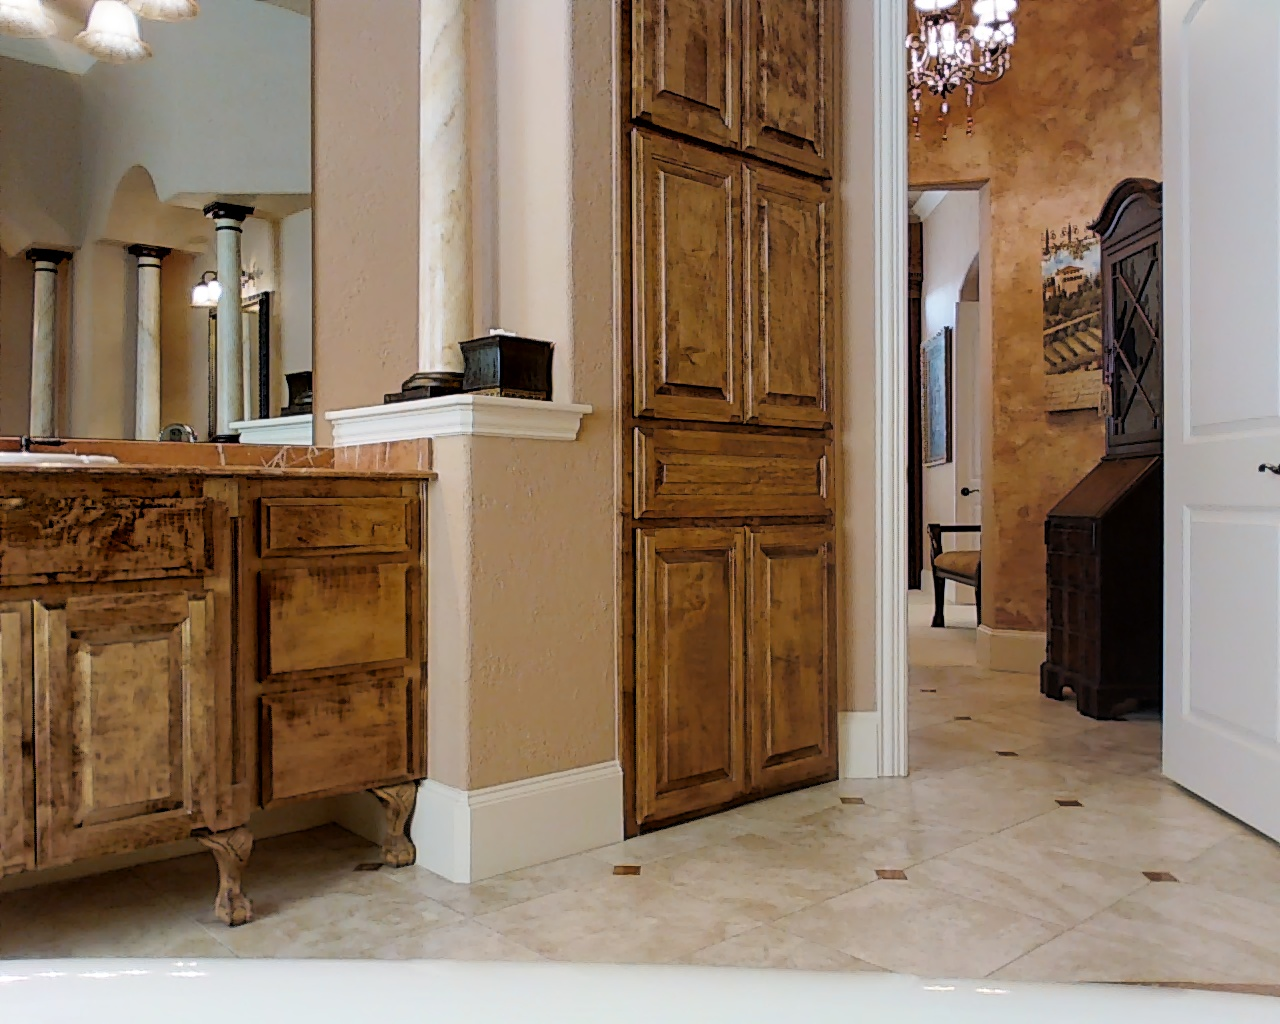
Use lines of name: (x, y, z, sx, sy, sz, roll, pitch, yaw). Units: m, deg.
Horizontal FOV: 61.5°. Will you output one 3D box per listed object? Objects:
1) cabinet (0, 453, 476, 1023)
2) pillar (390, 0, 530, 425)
cabinet: (-1.220, 0.400, 2.060, 1.750, 1.000, 0.570, -1, 1, -41)
pillar: (-0.460, -0.890, 2.740, 0.250, 1.310, 0.250, -1, 1, -42)
